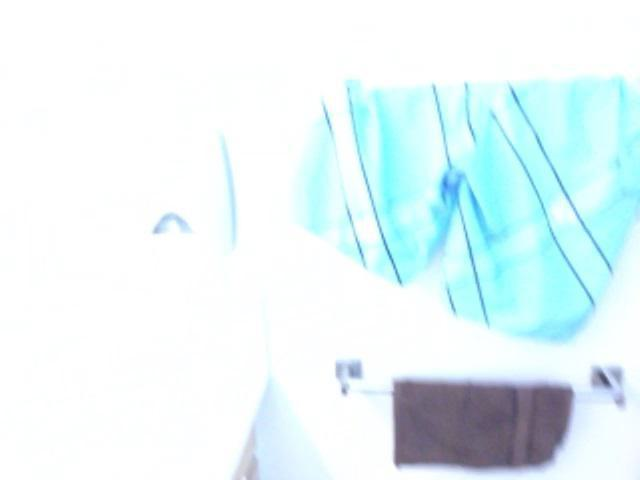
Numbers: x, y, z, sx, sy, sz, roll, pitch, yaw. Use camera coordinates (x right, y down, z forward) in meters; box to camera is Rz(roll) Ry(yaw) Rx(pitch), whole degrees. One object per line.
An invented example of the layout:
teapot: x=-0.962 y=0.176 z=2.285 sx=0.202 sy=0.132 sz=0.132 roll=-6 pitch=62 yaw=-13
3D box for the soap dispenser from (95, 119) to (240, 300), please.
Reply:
soap dispenser: x=-0.240 y=-0.050 z=0.950 sx=0.160 sy=0.270 sz=0.120 roll=-1 pitch=19 yaw=8

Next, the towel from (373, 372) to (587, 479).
towel: x=0.270 y=0.340 z=1.020 sx=0.340 sy=0.180 sz=0.100 roll=-1 pitch=19 yaw=8
